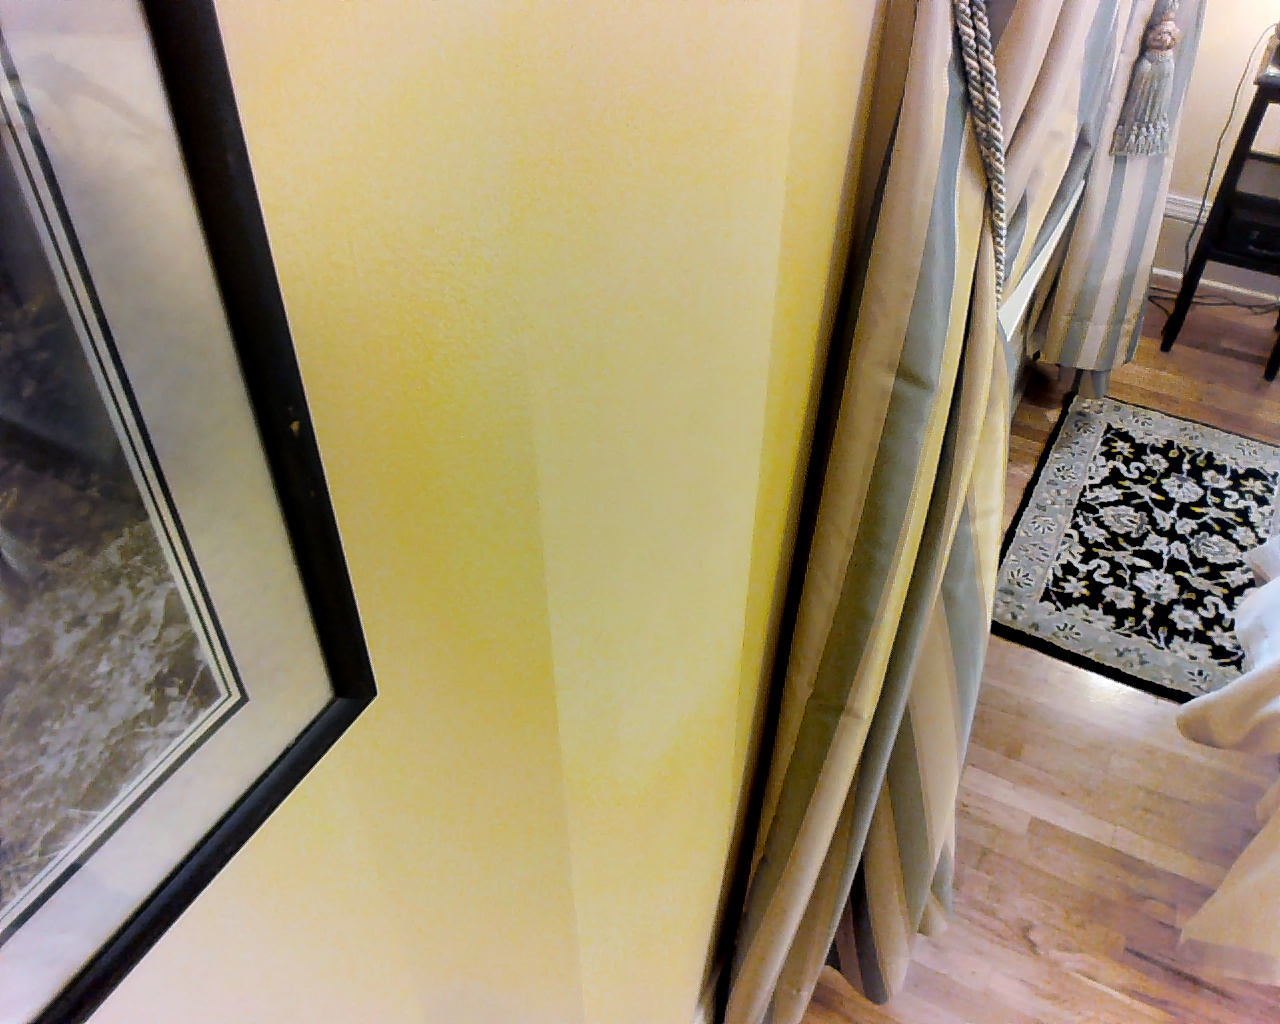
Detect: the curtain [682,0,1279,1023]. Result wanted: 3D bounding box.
[{"bbox_3d":[0.690,-0.700,1.390,0.320,2.560,2.110,20,47,20],"label":"curtain"}]
